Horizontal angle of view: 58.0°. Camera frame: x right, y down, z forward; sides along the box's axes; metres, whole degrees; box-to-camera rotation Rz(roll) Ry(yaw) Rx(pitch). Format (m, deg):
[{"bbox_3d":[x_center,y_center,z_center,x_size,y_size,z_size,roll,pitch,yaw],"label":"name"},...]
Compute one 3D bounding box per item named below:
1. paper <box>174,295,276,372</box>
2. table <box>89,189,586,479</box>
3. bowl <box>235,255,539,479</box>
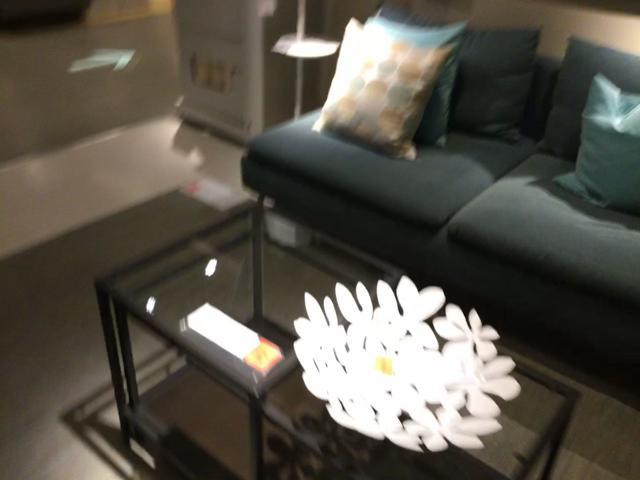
[{"bbox_3d":[-0.190,0.180,1.140,0.200,0.020,0.090,28,38,33],"label":"paper"},{"bbox_3d":[-0.020,0.360,1.340,0.930,0.550,0.500,28,38,33],"label":"table"},{"bbox_3d":[0.130,0.240,1.110,0.390,0.130,0.430,28,38,33],"label":"bowl"}]
